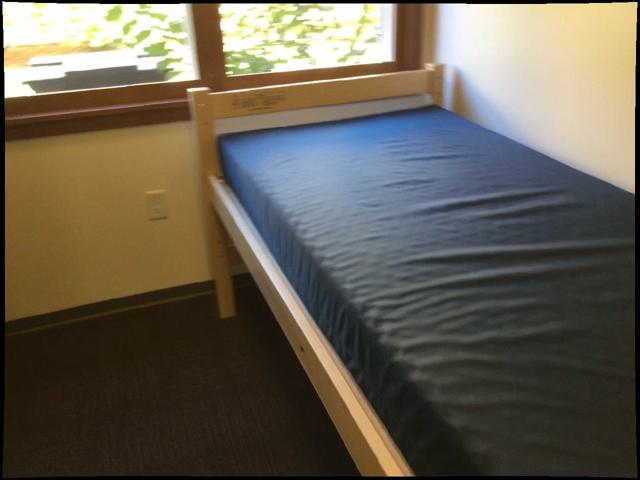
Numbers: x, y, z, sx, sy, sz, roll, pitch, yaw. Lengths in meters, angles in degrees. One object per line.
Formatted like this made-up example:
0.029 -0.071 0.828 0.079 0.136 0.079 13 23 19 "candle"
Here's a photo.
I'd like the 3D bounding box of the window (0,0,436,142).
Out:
-0.449 -1.093 2.010 1.836 1.313 0.270 -9 29 -17 "window"
